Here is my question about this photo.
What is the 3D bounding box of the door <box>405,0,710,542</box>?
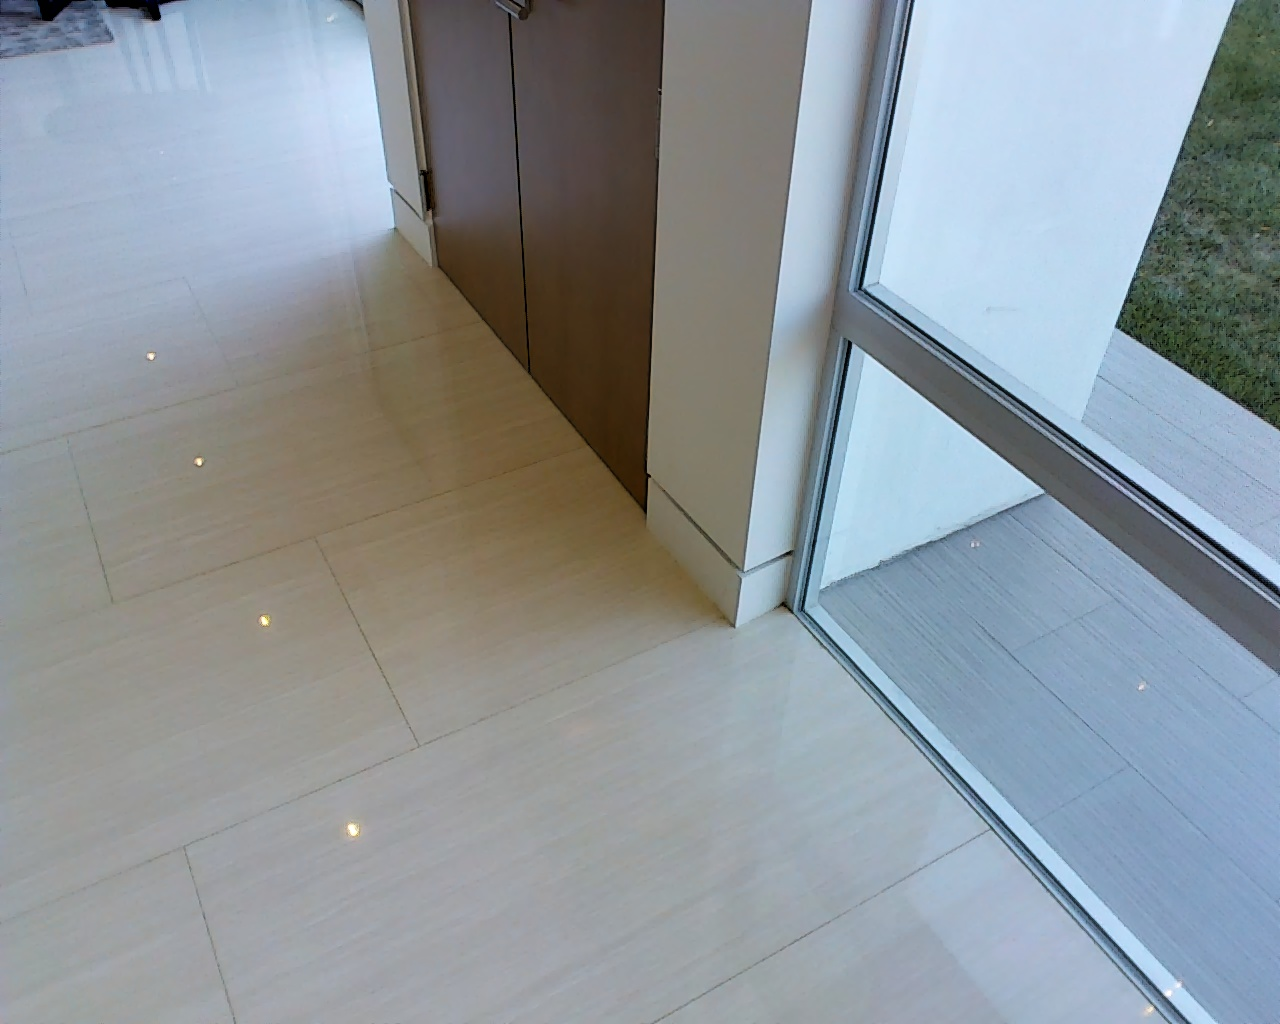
[{"bbox_3d":[-0.230,-1.240,1.910,0.040,2.460,1.300,-20,46,-22],"label":"door"}]
